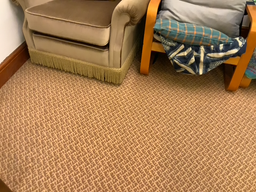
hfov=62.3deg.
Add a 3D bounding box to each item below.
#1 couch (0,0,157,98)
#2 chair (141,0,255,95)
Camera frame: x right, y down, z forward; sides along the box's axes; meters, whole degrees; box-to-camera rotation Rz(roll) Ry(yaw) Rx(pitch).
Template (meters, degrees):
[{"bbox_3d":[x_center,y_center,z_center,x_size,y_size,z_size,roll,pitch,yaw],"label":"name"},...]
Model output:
[{"bbox_3d":[-0.270,-0.690,1.530,0.890,0.810,0.980,11,46,6],"label":"couch"},{"bbox_3d":[0.530,-0.670,1.480,0.670,0.930,0.790,11,46,6],"label":"chair"}]
